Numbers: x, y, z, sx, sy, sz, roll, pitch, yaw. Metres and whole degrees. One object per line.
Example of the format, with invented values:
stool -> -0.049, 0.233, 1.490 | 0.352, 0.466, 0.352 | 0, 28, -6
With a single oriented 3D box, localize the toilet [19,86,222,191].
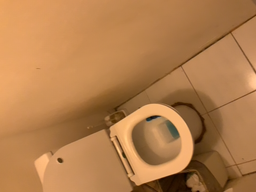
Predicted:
toilet -> 0.000, 0.310, 1.180 | 0.680, 0.850, 0.360 | -36, 76, 37
